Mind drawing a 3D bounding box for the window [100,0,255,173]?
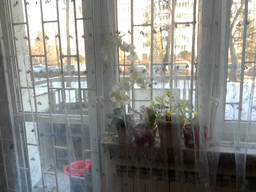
[{"bbox_3d":[0.690,-0.410,1.120,1.700,1.680,0.190,2,12,14],"label":"window"}]
